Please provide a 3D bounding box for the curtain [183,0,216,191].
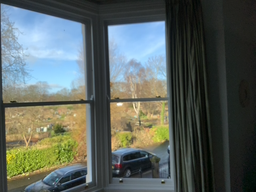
[{"bbox_3d":[0.830,0.260,2.420,0.140,2.950,0.390,-2,-1,45],"label":"curtain"}]
